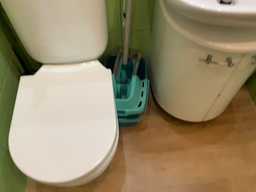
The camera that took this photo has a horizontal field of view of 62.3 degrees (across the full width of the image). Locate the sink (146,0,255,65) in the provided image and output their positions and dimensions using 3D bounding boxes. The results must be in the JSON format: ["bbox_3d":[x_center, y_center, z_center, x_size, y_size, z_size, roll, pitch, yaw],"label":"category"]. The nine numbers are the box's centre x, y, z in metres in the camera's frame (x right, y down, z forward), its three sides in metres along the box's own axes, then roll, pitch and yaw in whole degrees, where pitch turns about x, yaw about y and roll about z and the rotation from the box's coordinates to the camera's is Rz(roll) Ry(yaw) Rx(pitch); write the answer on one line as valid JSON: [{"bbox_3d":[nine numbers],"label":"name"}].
[{"bbox_3d":[0.390,-0.340,0.680,0.620,0.190,0.420,-4,57,-3],"label":"sink"}]

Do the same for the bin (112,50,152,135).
[{"bbox_3d":[0.010,-0.010,1.170,0.170,0.320,0.340,-2,57,-2],"label":"bin"}]

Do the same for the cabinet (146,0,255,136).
[{"bbox_3d":[0.370,-0.140,1.020,0.470,0.670,0.390,-4,57,-3],"label":"cabinet"}]
